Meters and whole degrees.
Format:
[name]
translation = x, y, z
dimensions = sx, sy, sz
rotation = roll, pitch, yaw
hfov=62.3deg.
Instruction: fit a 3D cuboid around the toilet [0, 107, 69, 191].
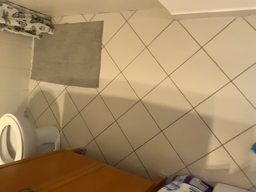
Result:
[toilet]
translation = -0.890, 0.450, 1.500
dimensions = 0.390, 0.820, 0.670
rotation = 8, 93, 29
